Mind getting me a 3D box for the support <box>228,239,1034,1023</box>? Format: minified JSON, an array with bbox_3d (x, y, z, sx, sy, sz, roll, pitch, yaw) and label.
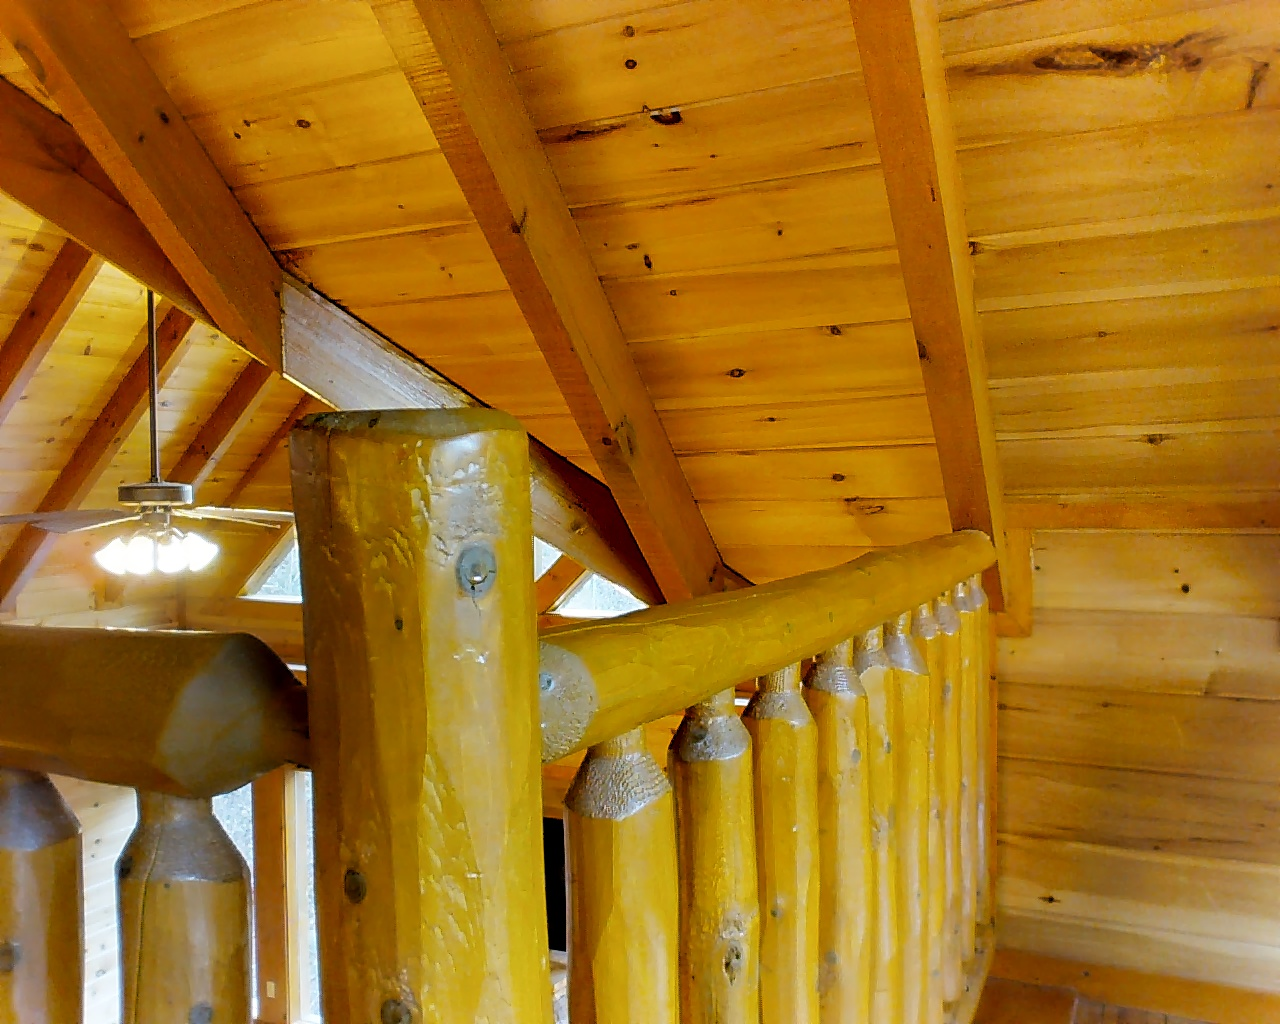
[{"bbox_3d":[0.350,0.480,1.530,0.160,1.270,2.200,-1,1,26],"label":"support"}]
